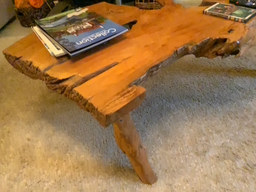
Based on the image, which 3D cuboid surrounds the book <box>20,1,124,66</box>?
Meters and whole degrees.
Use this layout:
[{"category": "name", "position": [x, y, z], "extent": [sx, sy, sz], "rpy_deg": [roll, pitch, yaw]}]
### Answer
[{"category": "book", "position": [-0.230, -0.270, 0.840], "extent": [0.260, 0.060, 0.360], "rpy_deg": [-30, 49, -25]}]
